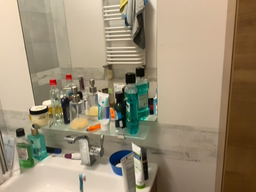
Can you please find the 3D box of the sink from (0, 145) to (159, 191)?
[{"bbox_3d":[-0.230,0.390,0.800,0.610,0.120,0.450,3,17,19],"label":"sink"}]
